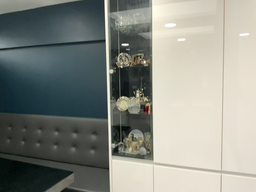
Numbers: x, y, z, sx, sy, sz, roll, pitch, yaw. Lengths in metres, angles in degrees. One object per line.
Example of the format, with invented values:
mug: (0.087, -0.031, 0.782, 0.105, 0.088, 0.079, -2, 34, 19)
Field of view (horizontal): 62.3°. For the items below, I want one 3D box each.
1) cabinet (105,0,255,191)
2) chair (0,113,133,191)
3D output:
cabinet: (0.820, 0.180, 1.650, 1.890, 2.340, 0.560, 1, 5, 21)
chair: (-0.790, 0.790, 2.340, 1.590, 1.070, 0.560, 1, 5, 21)
